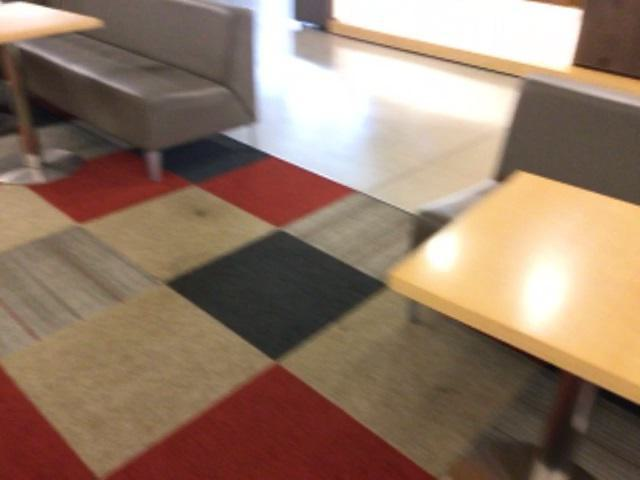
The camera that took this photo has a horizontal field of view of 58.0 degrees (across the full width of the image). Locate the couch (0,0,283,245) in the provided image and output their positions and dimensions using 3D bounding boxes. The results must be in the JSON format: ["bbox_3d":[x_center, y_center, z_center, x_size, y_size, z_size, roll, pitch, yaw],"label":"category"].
[{"bbox_3d":[-1.550,-1.050,3.200,2.290,1.040,1.450,23,37,38],"label":"couch"}]
